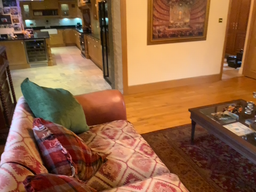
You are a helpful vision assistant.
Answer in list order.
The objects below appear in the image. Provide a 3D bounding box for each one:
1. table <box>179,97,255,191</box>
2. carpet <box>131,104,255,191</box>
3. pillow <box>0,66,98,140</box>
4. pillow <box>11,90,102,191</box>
[{"bbox_3d":[1.260,0.520,2.120,0.850,0.480,1.320,-8,22,-17],"label":"table"},{"bbox_3d":[1.290,0.770,2.090,1.770,0.220,2.460,-8,22,-18],"label":"carpet"},{"bbox_3d":[-0.710,0.010,2.010,0.550,0.410,0.660,9,23,23],"label":"pillow"},{"bbox_3d":[-0.520,0.520,1.690,0.480,0.920,0.660,-8,22,-18],"label":"pillow"}]
